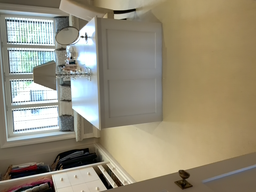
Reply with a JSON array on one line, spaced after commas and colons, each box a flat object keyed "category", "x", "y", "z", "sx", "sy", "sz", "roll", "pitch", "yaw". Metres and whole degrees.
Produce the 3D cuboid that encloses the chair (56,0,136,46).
[{"category": "chair", "x": -0.460, "y": -1.080, "z": 3.060, "sx": 0.500, "sy": 1.010, "sz": 0.540, "roll": 173, "pitch": 93, "yaw": -65}]
